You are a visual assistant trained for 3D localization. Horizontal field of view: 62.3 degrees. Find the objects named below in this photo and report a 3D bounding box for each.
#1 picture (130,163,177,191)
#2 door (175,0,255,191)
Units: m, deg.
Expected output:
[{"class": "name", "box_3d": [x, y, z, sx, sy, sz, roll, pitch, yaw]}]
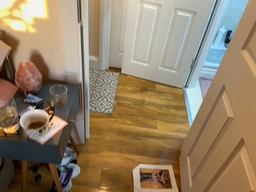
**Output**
[{"class": "picture", "box_3d": [0.170, 0.560, 1.470, 0.300, 0.010, 0.210, 3, 41, -7]}, {"class": "door", "box_3d": [0.450, -0.040, 0.670, 0.030, 1.960, 0.800, 8, 41, -1]}]
